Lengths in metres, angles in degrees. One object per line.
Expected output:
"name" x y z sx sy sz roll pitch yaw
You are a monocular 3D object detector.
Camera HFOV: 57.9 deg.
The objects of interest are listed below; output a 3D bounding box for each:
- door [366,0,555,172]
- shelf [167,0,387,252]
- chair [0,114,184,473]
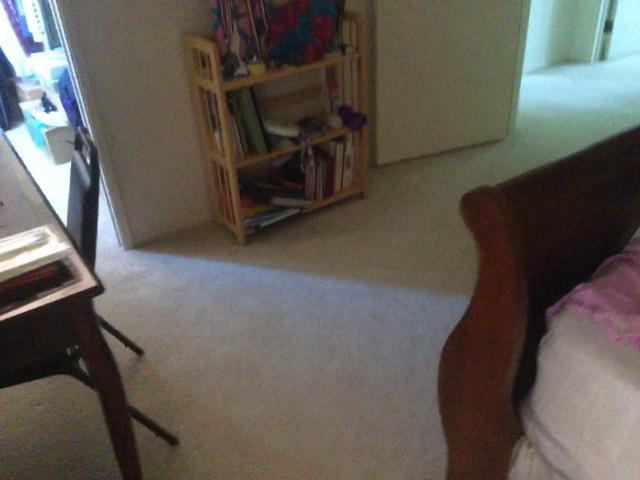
"door" 0.670 -1.030 2.750 0.870 1.250 0.230 -15 34 -15
"shelf" -0.130 -0.510 2.470 0.780 0.820 0.350 -26 38 -29
"chair" -0.720 0.110 1.390 0.520 0.610 0.430 -26 38 -29
